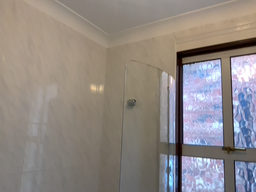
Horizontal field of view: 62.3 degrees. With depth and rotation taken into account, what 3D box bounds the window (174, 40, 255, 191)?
[{"bbox_3d":[0.660,0.400,1.390,0.710,1.510,0.090,-4,-12,32],"label":"window"}]
